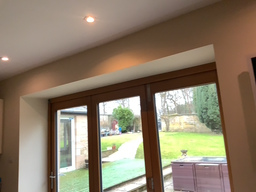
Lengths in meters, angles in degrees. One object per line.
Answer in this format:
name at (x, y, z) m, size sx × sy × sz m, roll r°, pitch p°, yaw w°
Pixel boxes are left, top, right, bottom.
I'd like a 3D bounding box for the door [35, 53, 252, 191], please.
door at (-0.100, 0.940, 2.260) m, size 2.480 × 2.260 × 0.210 m, roll -9°, pitch -11°, yaw 30°
